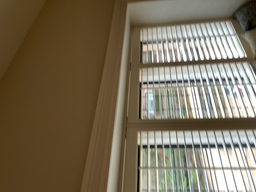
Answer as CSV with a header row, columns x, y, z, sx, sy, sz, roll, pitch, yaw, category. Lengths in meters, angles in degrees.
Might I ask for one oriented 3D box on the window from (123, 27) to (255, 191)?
x,y,z,sx,sy,sz,roll,pitch,yaw,category
0.560,0.280,1.560,0.060,1.130,2.640,80,-169,-48,window
